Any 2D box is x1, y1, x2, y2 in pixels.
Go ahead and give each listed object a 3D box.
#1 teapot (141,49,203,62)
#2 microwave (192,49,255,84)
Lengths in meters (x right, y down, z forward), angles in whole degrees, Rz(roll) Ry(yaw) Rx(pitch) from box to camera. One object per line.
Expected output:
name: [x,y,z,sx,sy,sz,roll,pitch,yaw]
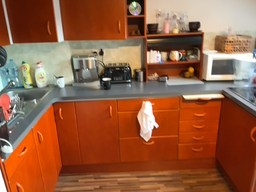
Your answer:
teapot: [0.480,-0.460,2.390,0.650,0.100,0.200,-2,19,-1]
microwave: [1.050,-0.340,2.340,0.540,0.290,0.440,-2,19,-1]
